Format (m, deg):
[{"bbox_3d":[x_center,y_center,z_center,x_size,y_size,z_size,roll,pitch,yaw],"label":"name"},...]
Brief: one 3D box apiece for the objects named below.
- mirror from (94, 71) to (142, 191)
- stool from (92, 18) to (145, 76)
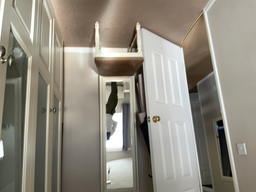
[{"bbox_3d":[-0.130,0.440,2.460,0.500,1.510,0.180,1,161,-8],"label":"mirror"},{"bbox_3d":[-0.130,-0.530,2.380,0.520,0.480,0.440,-2,165,-8],"label":"stool"}]
